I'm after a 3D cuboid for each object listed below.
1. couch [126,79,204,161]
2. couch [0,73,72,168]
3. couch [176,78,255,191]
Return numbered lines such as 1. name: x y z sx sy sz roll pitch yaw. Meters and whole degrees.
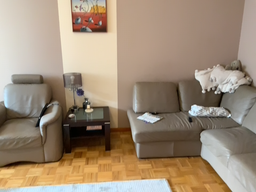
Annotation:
1. couch: 0.430 0.270 3.000 0.840 0.830 0.920 -1 16 -5
2. couch: -1.340 0.250 2.810 0.970 0.950 0.950 -1 16 -5
3. couch: 1.370 0.440 2.410 0.900 0.850 2.310 -1 16 -5
